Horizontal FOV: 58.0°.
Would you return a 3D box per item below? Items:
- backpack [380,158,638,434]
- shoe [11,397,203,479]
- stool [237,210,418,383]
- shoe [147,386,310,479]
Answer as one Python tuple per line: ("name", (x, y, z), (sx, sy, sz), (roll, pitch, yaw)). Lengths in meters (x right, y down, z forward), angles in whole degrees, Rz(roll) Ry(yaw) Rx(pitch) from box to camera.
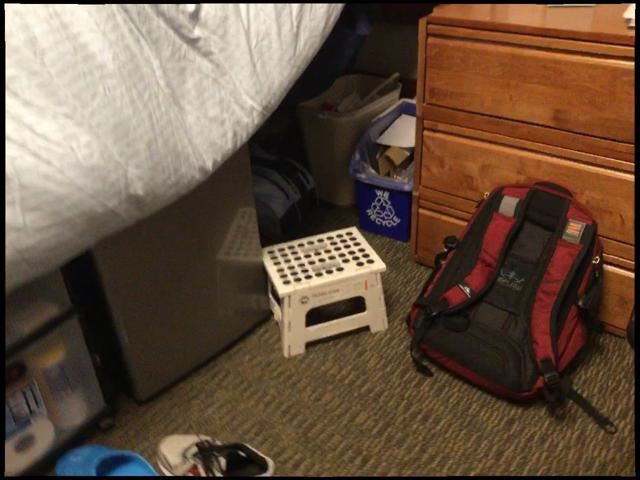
("backpack", (0.459, 0.110, 1.460), (0.449, 0.411, 0.410), (21, 40, 29))
("shoe", (-0.479, 0.541, 1.160), (0.270, 0.100, 0.400), (21, 40, 29))
("stool", (0.010, 0.140, 1.620), (0.389, 0.240, 0.350), (-12, 36, -16))
("shoe", (-0.190, 0.461, 1.210), (0.300, 0.110, 0.160), (21, 40, 29))
